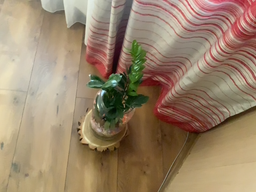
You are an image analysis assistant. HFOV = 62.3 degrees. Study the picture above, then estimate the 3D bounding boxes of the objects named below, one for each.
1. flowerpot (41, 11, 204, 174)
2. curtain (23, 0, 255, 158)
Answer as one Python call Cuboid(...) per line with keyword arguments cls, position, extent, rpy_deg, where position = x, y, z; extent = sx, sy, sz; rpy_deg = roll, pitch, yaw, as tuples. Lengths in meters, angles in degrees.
Cuboid(cls="flowerpot", position=(-0.070, 0.070, 0.950), extent=(0.370, 0.690, 0.340), rpy_deg=(39, 64, 4))
Cuboid(cls="curtain", position=(-0.020, -0.880, 0.450), extent=(2.370, 2.510, 0.180), rpy_deg=(41, 64, 4))
